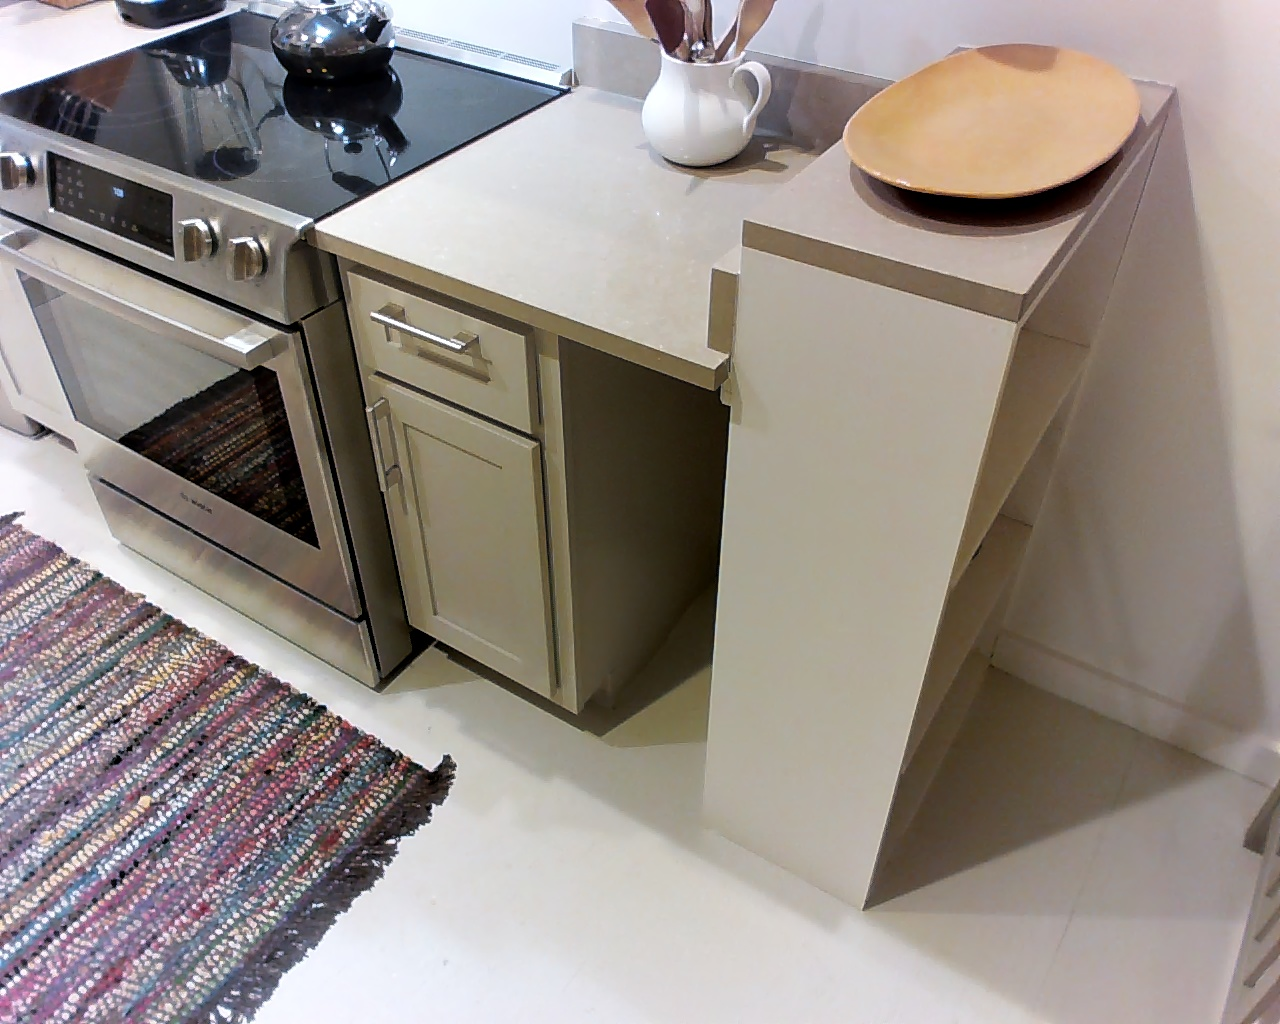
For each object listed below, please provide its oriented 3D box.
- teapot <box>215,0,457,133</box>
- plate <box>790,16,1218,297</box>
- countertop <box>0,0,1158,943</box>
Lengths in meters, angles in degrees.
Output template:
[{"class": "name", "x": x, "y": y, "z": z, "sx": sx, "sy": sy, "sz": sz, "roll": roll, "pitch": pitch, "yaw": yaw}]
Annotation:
[{"class": "teapot", "x": -0.510, "y": -0.810, "z": 1.830, "sx": 0.270, "sy": 0.190, "sz": 0.260, "roll": 21, "pitch": 46, "yaw": 22}, {"class": "plate", "x": 0.430, "y": -0.430, "z": 1.220, "sx": 0.290, "sy": 0.070, "sz": 0.540, "roll": 24, "pitch": 47, "yaw": 25}, {"class": "countertop", "x": -0.400, "y": -0.280, "z": 2.000, "sx": 2.190, "sy": 0.920, "sz": 0.680, "roll": 24, "pitch": 47, "yaw": 25}]
